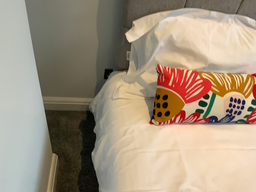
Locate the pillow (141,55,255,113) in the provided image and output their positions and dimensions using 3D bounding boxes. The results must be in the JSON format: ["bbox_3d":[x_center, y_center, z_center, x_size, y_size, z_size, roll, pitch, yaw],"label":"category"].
[{"bbox_3d":[0.360,-0.030,0.940,0.540,0.240,0.140,2,69,-20],"label":"pillow"}]
